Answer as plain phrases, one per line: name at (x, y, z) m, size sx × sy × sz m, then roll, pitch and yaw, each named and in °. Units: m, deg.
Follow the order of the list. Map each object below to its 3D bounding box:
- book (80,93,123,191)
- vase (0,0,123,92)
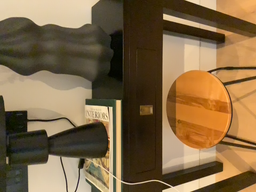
book at (-0.100, 0.160, 0.740) m, size 0.200 × 0.070 × 0.340 m, roll 3°, pitch 93°, yaw 57°
vase at (-0.320, -0.130, 0.610) m, size 0.170 × 0.610 × 0.230 m, roll 5°, pitch 95°, yaw 57°
